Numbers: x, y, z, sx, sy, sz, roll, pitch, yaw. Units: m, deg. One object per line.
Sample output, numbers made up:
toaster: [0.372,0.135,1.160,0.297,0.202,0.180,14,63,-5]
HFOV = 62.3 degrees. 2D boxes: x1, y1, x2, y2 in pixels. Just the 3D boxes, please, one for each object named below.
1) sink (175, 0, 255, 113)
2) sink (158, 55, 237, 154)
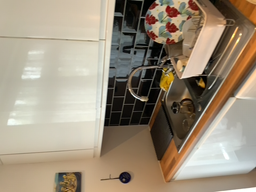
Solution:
sink: [0.510,-0.260,1.170,0.490,0.210,0.500,103,162,-46]
sink: [0.440,0.060,1.520,0.470,0.210,0.510,103,162,-46]
